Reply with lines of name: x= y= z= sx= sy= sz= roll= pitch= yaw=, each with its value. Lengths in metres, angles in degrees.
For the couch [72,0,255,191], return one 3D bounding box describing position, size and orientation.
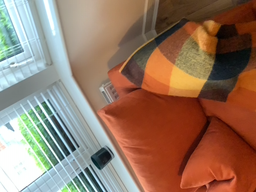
couch: x=0.490 y=0.150 z=1.060 sx=0.990 sy=0.840 sz=0.990 roll=-5 pitch=116 yaw=56
